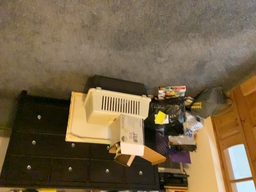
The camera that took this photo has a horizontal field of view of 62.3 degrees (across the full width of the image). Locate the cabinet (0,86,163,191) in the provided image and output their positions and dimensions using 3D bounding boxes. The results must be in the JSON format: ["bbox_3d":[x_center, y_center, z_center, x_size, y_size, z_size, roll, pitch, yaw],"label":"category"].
[{"bbox_3d":[-0.470,0.550,2.380,1.580,0.950,0.510,9,151,-19],"label":"cabinet"}]
